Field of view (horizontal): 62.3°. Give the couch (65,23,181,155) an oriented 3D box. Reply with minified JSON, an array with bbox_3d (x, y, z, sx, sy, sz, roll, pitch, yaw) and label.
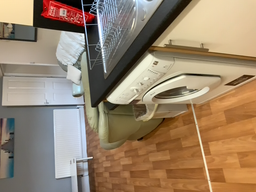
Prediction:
[{"bbox_3d":[-0.180,0.000,2.580,1.060,0.920,1.170,138,127,-58],"label":"couch"}]

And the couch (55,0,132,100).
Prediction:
[{"bbox_3d":[-0.790,-0.760,3.950,1.960,0.840,1.110,142,123,-59],"label":"couch"}]
